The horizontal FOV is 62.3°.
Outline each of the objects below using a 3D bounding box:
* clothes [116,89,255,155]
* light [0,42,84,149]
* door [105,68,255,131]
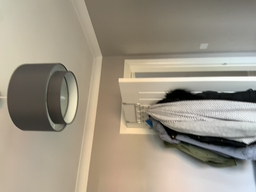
[{"bbox_3d":[0.680,0.260,1.760,0.840,1.450,0.260,80,-169,-63],"label":"clothes"},{"bbox_3d":[-0.410,0.020,0.900,0.340,0.320,0.340,78,-167,-66],"label":"light"},{"bbox_3d":[0.880,0.070,1.870,0.780,2.060,0.130,83,-170,-54],"label":"door"}]
